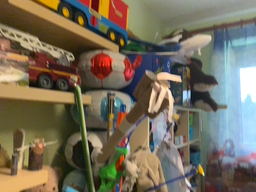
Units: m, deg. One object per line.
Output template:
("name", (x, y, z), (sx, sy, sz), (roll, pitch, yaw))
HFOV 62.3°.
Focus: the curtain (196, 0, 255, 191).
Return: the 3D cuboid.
("curtain", (1.430, 0.190, 1.640), (1.720, 2.120, 0.210), (-1, -6, 30))
